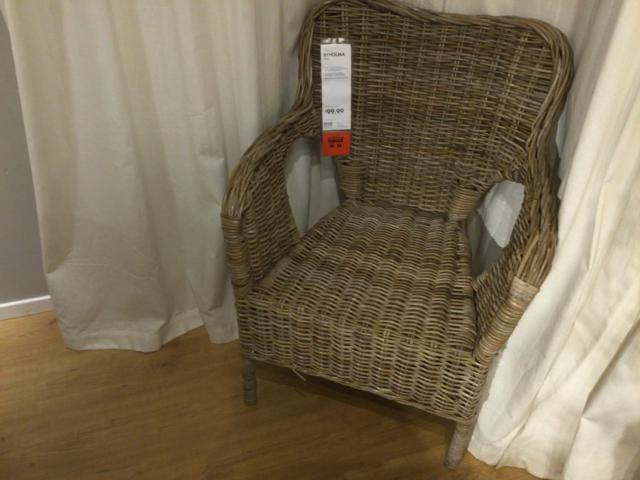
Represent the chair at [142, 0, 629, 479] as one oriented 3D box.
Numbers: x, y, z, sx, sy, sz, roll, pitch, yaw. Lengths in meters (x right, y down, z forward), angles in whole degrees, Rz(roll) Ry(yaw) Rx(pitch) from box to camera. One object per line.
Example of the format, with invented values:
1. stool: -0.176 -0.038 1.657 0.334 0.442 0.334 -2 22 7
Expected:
1. chair: 0.150 0.010 1.370 0.750 0.910 0.630 18 42 16
